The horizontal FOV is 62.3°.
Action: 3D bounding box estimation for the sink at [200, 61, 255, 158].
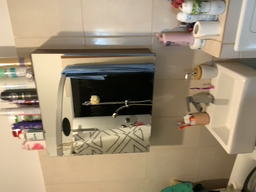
[{"bbox_3d":[0.580,0.060,1.190,0.320,0.160,0.440,-101,11,-66],"label":"sink"}]
